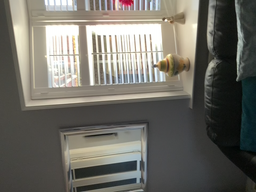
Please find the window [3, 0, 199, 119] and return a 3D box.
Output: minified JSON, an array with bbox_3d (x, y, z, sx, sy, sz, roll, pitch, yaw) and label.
[{"bbox_3d":[-0.180,-0.930,1.630,0.470,1.350,2.060,-124,31,-71],"label":"window"}]
